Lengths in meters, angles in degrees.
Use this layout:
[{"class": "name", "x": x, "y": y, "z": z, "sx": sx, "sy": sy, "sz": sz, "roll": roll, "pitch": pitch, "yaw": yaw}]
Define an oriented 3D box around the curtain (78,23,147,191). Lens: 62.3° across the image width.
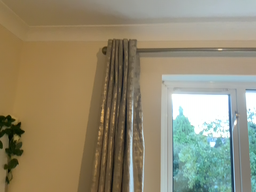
[{"class": "curtain", "x": -0.080, "y": 0.300, "z": 1.300, "sx": 0.350, "sy": 1.510, "sz": 0.200, "roll": 1, "pitch": -11, "yaw": 6}]
